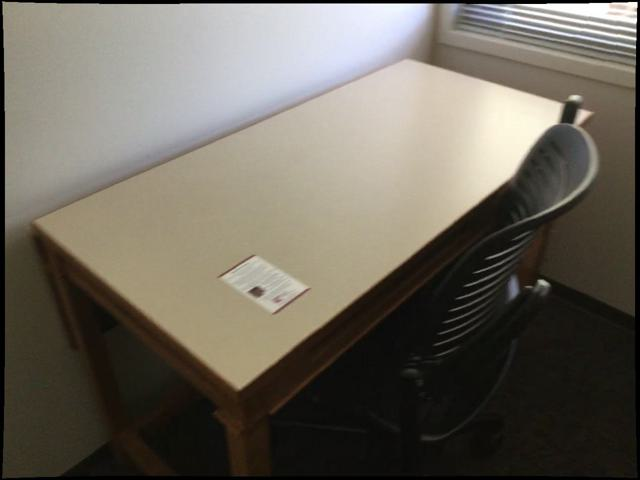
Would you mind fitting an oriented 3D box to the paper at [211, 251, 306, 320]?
[{"bbox_3d":[-0.100,0.070,0.930,0.130,0.010,0.090,30,48,34],"label":"paper"}]
